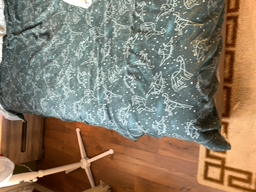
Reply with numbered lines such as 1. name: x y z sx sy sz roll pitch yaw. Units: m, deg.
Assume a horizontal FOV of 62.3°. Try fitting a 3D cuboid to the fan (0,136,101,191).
1. fan: -0.710 0.560 1.430 0.420 1.040 0.360 8 93 35
